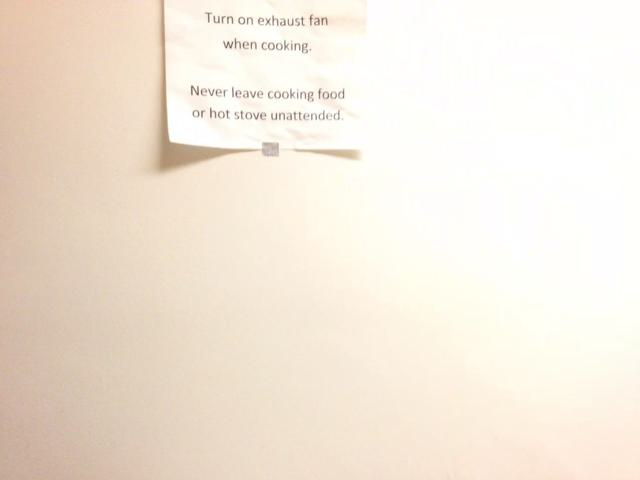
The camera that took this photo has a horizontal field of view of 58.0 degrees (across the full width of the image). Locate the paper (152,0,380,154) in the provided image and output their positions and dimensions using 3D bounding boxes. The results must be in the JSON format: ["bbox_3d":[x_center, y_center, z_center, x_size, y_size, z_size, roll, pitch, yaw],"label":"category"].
[{"bbox_3d":[-0.070,-0.240,0.790,0.300,0.240,0.040,-2,3,-10],"label":"paper"}]
